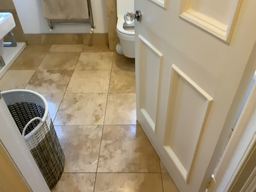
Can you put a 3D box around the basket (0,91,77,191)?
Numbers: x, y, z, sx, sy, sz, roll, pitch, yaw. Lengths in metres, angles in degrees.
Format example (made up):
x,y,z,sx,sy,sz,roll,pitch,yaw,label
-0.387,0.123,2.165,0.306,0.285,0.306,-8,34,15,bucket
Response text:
x,y,z,sx,sy,sz,roll,pitch,yaw,label
-0.630,0.280,1.240,0.510,0.450,0.430,0,40,1,basket
